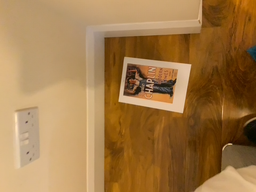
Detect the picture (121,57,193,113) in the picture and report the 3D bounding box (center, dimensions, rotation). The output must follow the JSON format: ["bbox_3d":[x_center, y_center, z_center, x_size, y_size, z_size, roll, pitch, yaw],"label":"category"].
[{"bbox_3d":[0.120,-0.050,0.920,0.280,0.020,0.200,10,97,14],"label":"picture"}]
